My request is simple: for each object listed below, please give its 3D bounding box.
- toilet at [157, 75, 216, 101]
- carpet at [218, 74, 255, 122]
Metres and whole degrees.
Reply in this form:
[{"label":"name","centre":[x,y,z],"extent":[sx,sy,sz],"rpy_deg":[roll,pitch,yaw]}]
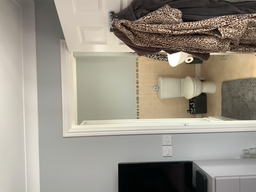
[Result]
[{"label":"toilet","centre":[0.940,-0.130,3.500],"extent":[0.550,0.790,0.390],"rpy_deg":[-179,88,-85]},{"label":"carpet","centre":[1.390,0.030,2.750],"extent":[0.800,0.040,0.540],"rpy_deg":[166,103,-85]}]
